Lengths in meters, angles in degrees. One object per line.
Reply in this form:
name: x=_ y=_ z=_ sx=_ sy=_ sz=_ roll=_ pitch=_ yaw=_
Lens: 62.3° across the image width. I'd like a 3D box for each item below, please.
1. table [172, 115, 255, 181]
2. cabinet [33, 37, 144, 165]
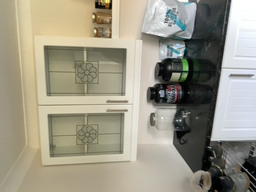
table: x=0.930 y=0.420 z=1.900 sx=0.590 sy=0.880 sz=0.310 roll=-121 pitch=33 yaw=-73
cabinet: x=-0.310 y=0.040 z=1.760 sx=0.290 sy=0.770 sz=0.980 roll=-121 pitch=33 yaw=-73
